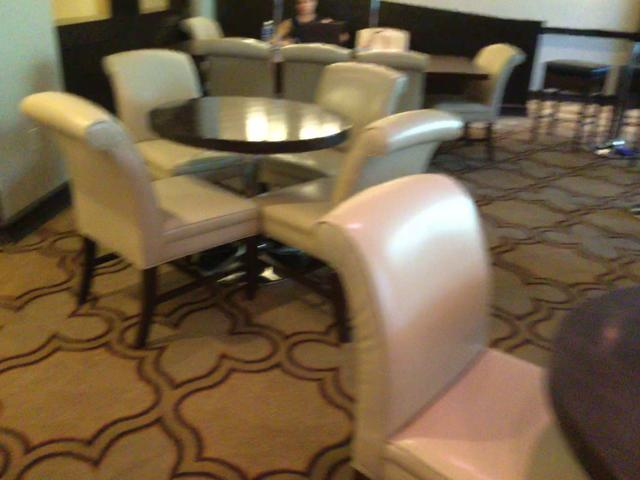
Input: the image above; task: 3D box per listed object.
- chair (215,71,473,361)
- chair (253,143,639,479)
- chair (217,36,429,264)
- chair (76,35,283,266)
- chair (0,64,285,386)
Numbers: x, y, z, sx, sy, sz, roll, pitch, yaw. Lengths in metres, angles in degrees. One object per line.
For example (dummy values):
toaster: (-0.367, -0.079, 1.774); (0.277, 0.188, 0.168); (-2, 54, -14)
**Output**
chair: (0.060, -0.160, 2.410); (0.830, 0.880, 0.560); (25, 34, 38)
chair: (0.380, 0.390, 1.280); (0.840, 0.940, 0.610); (19, 31, 30)
chair: (0.010, -0.540, 3.120); (0.680, 0.940, 0.840); (24, 34, 37)
chair: (-0.750, -0.550, 3.160); (0.660, 0.950, 0.920); (-20, 34, -38)
chair: (-0.660, -0.130, 2.280); (0.600, 0.930, 0.850); (25, 34, 38)
